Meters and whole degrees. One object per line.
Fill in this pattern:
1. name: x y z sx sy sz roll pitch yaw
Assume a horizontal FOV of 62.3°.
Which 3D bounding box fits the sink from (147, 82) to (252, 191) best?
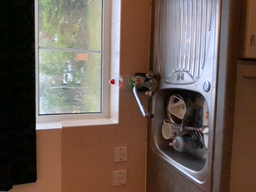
1. sink: 0.300 0.140 1.050 0.510 0.190 0.400 -166 76 -68
